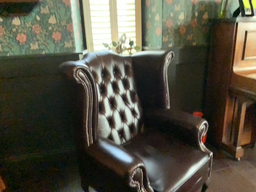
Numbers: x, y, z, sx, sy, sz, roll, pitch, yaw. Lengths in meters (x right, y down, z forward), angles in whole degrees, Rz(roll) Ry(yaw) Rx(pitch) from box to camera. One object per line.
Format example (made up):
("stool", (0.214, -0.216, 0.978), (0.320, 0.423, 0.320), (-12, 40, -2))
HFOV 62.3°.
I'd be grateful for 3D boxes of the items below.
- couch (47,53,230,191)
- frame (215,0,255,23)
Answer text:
("couch", (0.050, 0.260, 1.420), (0.750, 0.960, 0.810), (-16, 23, -37))
("frame", (1.050, -0.810, 1.960), (0.360, 0.240, 0.260), (-8, 19, -17))
